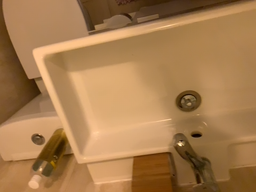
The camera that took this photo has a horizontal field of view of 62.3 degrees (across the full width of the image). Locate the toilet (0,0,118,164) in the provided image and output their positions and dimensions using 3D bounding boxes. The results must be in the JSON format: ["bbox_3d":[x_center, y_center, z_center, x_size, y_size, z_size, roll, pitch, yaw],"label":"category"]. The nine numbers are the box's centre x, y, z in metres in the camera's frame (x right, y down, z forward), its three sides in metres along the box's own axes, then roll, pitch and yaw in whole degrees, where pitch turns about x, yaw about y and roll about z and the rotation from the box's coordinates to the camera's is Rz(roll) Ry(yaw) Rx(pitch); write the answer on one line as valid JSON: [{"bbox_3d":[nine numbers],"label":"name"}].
[{"bbox_3d":[-0.360,-0.230,1.000,0.390,0.790,0.650,-11,114,9],"label":"toilet"}]

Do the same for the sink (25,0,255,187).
[{"bbox_3d":[0.140,-0.010,0.520,0.610,0.130,0.410,-11,114,9],"label":"sink"}]
